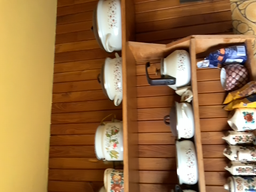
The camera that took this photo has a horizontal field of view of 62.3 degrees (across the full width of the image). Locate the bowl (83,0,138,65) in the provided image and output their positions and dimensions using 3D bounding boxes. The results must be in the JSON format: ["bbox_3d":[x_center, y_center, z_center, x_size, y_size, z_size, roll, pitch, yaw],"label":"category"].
[{"bbox_3d":[-0.070,-0.320,1.030,0.280,0.180,0.240,38,-129,-73],"label":"bowl"}]

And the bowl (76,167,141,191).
[{"bbox_3d":[-0.070,0.450,0.870,0.220,0.210,0.270,38,-129,-73],"label":"bowl"}]

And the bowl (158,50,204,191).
[{"bbox_3d":[0.220,0.200,0.890,0.220,0.140,0.730,38,-129,-73],"label":"bowl"}]

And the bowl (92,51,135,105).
[{"bbox_3d":[-0.060,-0.070,1.000,0.230,0.140,0.200,31,-123,-74],"label":"bowl"}]

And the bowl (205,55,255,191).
[{"bbox_3d":[0.440,0.210,0.860,0.170,0.170,0.710,38,-129,-73],"label":"bowl"}]
